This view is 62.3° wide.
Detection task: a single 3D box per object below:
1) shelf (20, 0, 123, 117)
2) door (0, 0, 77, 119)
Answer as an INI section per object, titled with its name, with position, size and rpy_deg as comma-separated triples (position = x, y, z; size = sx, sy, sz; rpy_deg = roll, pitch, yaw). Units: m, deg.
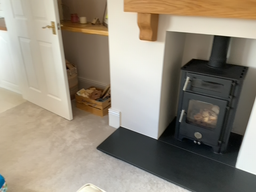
[shelf]
position = -0.630, -0.780, 2.370
size = 1.090, 1.790, 0.430
rpy_deg = 16, 30, 28
[door]
position = -0.990, -0.800, 2.180
size = 0.820, 2.070, 0.180
rpy_deg = 15, 30, 27
